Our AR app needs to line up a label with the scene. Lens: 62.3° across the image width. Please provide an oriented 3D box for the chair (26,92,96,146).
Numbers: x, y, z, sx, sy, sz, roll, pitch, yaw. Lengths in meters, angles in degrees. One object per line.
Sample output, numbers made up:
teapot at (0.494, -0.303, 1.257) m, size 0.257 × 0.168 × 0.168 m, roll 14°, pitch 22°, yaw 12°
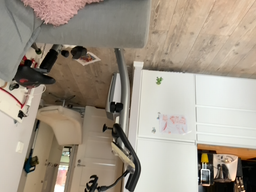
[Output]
chair at (-1.230, 0.480, 4.050) m, size 0.770 × 0.780 × 0.840 m, roll -6°, pitch 156°, yaw 26°
